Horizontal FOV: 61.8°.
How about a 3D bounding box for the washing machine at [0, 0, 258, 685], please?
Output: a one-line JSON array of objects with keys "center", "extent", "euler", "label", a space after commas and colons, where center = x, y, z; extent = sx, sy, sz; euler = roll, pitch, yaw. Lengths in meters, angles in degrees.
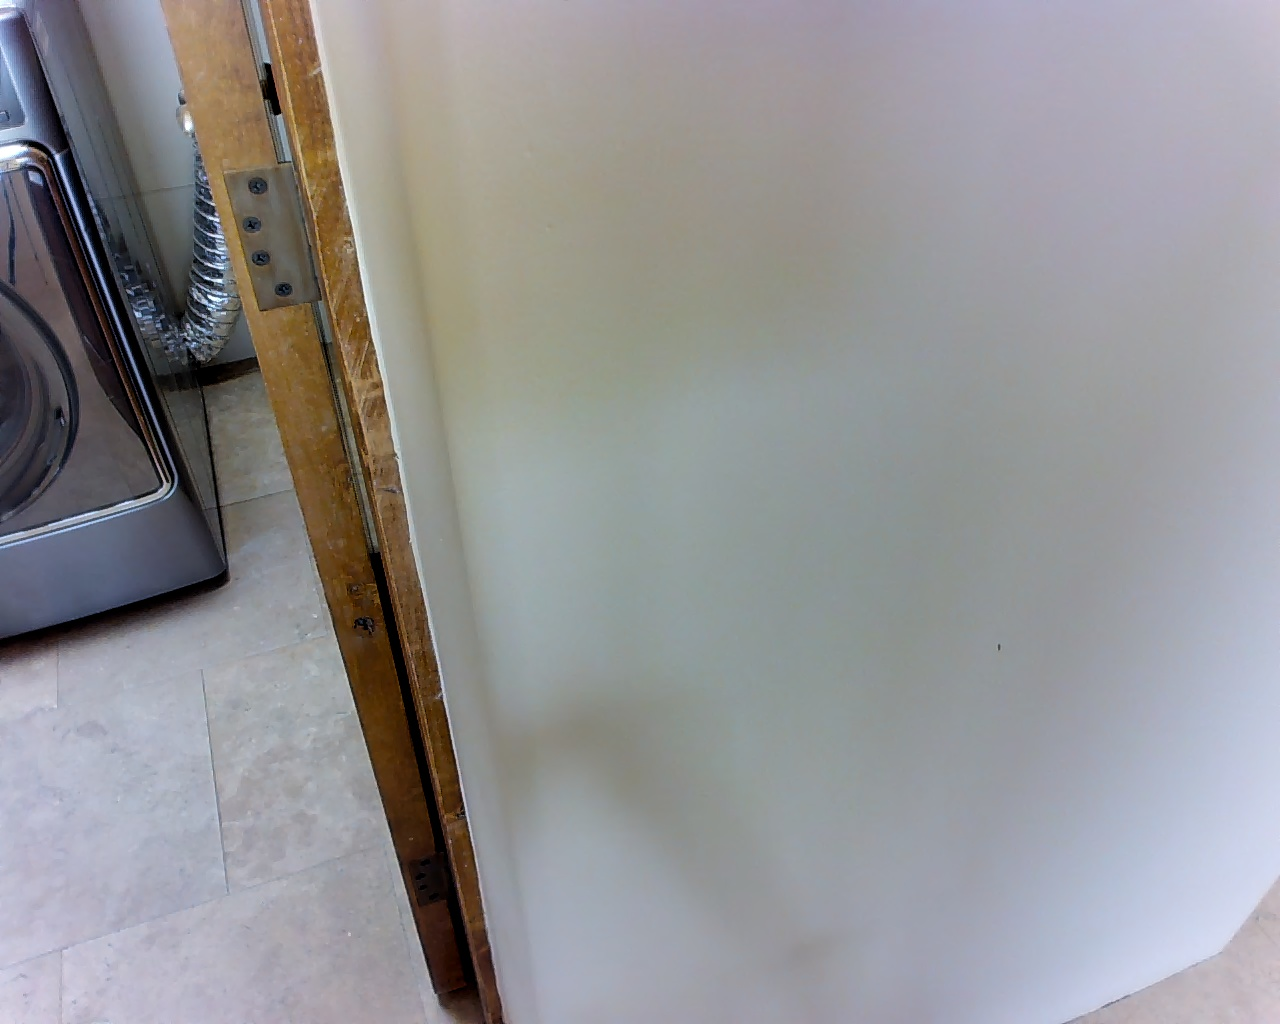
[{"center": [-1.220, -0.360, 1.830], "extent": [0.760, 1.020, 0.860], "euler": [-15, 43, -16], "label": "washing machine"}]
